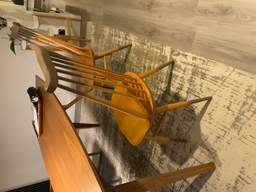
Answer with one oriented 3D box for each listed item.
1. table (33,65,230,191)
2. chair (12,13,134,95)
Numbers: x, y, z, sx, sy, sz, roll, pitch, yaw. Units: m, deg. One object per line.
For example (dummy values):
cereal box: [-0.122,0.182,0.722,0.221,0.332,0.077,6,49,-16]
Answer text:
table: [-0.270,0.420,1.880,1.820,0.750,0.890,37,124,49]
chair: [-0.480,-0.330,1.920,0.420,0.940,0.550,-7,88,57]
